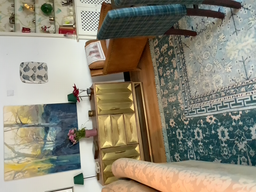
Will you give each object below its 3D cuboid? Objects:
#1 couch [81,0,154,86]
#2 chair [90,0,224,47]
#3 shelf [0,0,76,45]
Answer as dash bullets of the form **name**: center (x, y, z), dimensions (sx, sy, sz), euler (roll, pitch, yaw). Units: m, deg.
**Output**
- **couch**: center (-0.240, -0.790, 3.280), dimensions (0.970, 0.770, 0.780), euler (111, 148, -47)
- **chair**: center (0.220, -0.780, 1.800), dimensions (0.460, 0.990, 0.550), euler (163, 103, -68)
- **shelf**: center (-1.590, -1.470, 3.600), dimensions (0.290, 1.270, 1.100), euler (149, 117, -66)
